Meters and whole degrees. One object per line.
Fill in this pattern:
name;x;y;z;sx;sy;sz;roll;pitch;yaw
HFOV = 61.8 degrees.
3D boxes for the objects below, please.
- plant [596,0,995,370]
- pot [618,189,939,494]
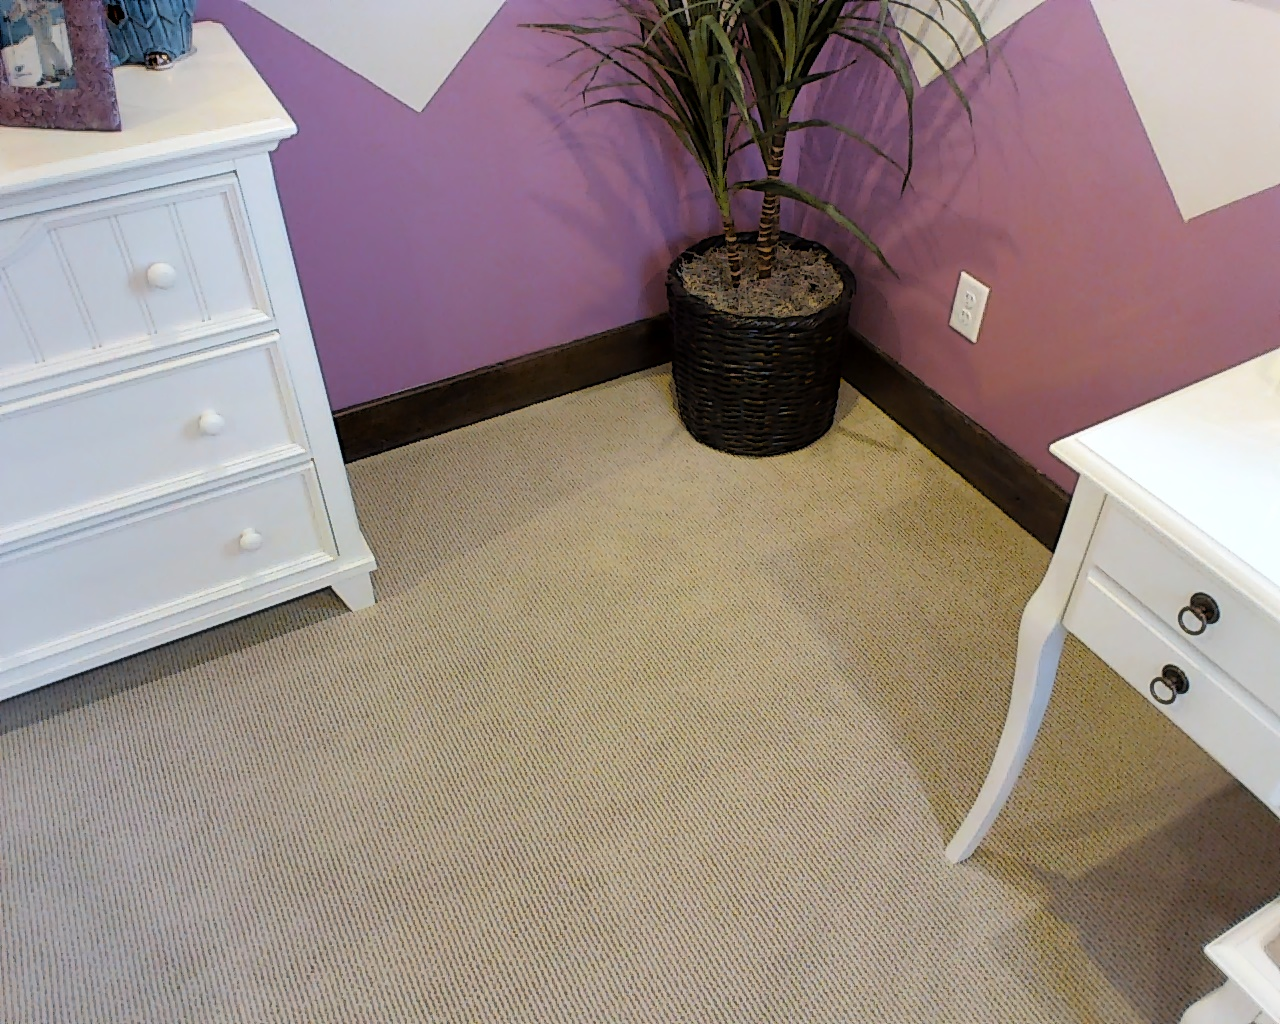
plant;0.250;-0.790;1.920;0.480;0.830;0.490;-21;46;-21
pot;0.270;-0.380;2.280;0.460;0.350;0.470;-21;46;-21
